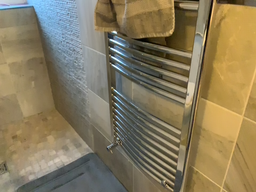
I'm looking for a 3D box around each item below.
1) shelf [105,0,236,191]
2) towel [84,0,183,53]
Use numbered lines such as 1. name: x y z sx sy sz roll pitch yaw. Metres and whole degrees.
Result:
1. shelf: 0.090 0.150 0.940 0.080 1.390 0.490 -20 35 -31
2. towel: 0.000 -0.350 0.710 0.170 0.310 0.330 -21 35 -31
